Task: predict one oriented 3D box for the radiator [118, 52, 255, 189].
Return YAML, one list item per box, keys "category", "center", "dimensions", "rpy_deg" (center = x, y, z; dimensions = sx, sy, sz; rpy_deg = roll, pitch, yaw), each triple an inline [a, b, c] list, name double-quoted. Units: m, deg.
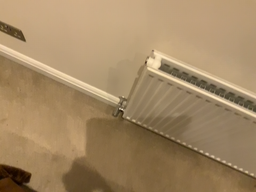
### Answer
- category: "radiator"
  center: [0.470, 0.230, 0.950]
  dimensions: [1.030, 0.650, 0.070]
  rpy_deg: [26, 67, 1]
